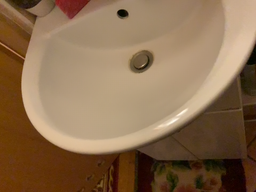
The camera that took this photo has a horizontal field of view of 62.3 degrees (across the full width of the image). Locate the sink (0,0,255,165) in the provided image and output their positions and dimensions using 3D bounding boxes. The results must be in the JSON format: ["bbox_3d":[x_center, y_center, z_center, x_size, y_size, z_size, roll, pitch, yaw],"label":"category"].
[{"bbox_3d":[-0.020,-0.090,0.460,0.500,0.160,0.420,-12,60,26],"label":"sink"}]

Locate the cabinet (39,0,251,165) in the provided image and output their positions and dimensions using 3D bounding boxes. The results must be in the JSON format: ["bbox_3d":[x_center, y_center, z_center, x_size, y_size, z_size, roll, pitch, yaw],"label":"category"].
[{"bbox_3d":[0.160,0.030,0.800,0.460,0.750,0.320,-12,60,26],"label":"cabinet"}]
